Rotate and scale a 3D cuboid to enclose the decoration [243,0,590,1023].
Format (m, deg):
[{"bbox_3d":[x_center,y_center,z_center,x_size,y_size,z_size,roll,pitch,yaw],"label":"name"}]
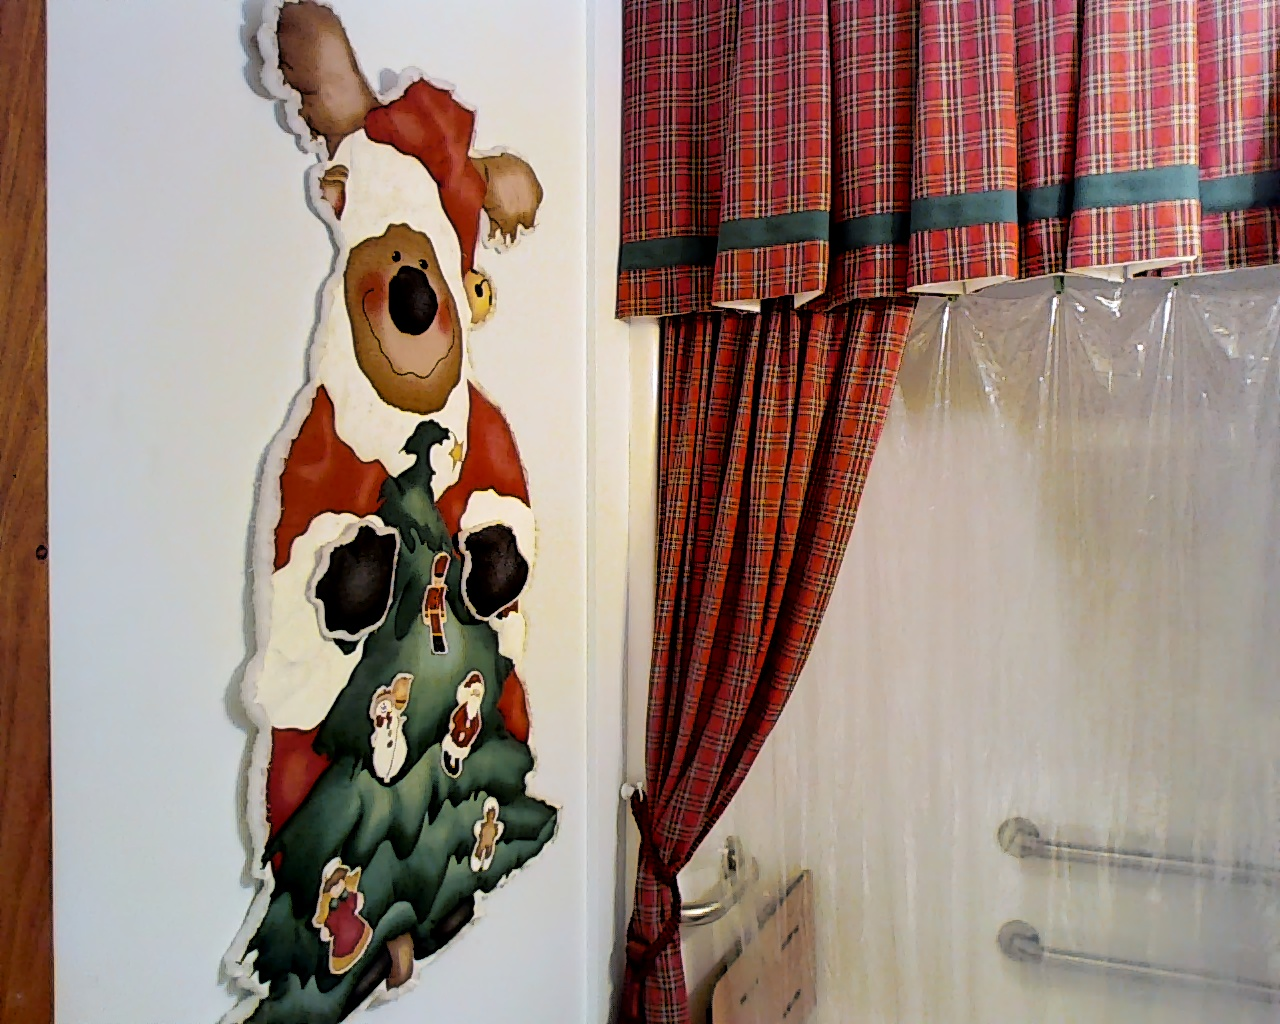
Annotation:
[{"bbox_3d":[-0.220,-0.030,1.240,0.060,1.030,0.550,1,1,25],"label":"decoration"}]
